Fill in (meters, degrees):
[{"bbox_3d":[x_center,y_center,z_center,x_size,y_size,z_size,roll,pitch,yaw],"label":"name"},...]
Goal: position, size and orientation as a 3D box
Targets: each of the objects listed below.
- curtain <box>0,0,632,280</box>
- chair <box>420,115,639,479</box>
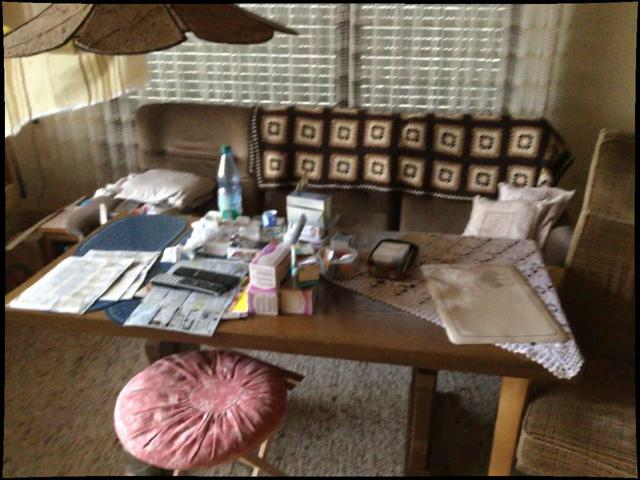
[{"bbox_3d":[-0.120,-0.971,2.930,2.907,2.092,0.620,4,25,5],"label":"curtain"},{"bbox_3d":[0.929,0.280,1.710,0.879,1.011,0.930,16,29,28],"label":"chair"}]
